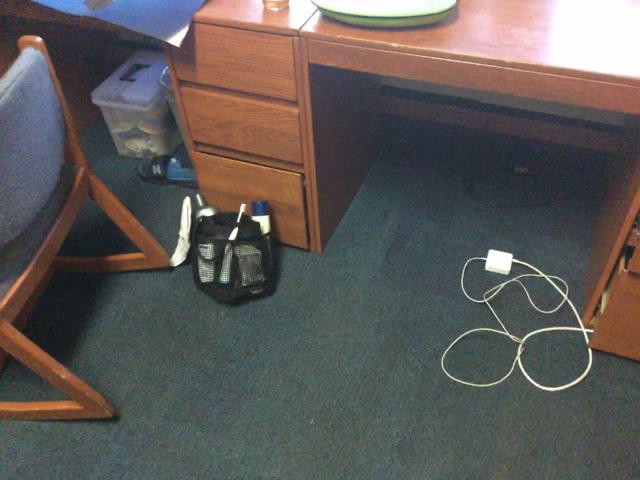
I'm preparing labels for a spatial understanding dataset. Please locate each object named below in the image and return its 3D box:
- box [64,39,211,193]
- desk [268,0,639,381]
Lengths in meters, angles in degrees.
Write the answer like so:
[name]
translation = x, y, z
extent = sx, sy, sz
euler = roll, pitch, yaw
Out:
[box]
translation = -0.650, -0.470, 2.150
extent = 0.230, 0.350, 0.450
euler = 14, 46, 18
[desk]
translation = 0.670, -0.310, 1.540
extent = 1.280, 0.860, 0.870
euler = 14, 46, 18
